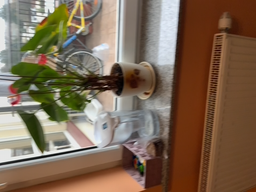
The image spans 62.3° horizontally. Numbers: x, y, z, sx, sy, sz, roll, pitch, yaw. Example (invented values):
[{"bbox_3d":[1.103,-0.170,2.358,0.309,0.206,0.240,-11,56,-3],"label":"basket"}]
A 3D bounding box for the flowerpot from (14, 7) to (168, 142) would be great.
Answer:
[{"bbox_3d":[-0.150,-0.090,0.940,0.260,0.600,0.430,15,105,59],"label":"flowerpot"}]
